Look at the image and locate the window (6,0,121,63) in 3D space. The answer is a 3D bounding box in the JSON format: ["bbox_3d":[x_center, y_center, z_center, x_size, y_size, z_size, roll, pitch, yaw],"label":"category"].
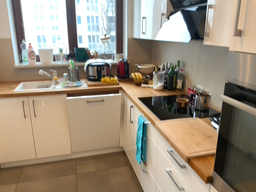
[{"bbox_3d":[-0.820,-1.230,2.880,1.450,1.480,0.160,-5,18,-18],"label":"window"}]
